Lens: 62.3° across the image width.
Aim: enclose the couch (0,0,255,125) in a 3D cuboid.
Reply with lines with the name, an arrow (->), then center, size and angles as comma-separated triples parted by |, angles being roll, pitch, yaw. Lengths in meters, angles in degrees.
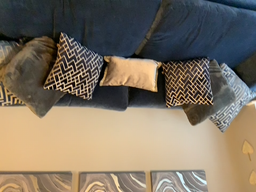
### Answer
couch -> 0.050, -0.330, 1.740 | 2.620, 0.760, 1.140 | 5, 158, -17
